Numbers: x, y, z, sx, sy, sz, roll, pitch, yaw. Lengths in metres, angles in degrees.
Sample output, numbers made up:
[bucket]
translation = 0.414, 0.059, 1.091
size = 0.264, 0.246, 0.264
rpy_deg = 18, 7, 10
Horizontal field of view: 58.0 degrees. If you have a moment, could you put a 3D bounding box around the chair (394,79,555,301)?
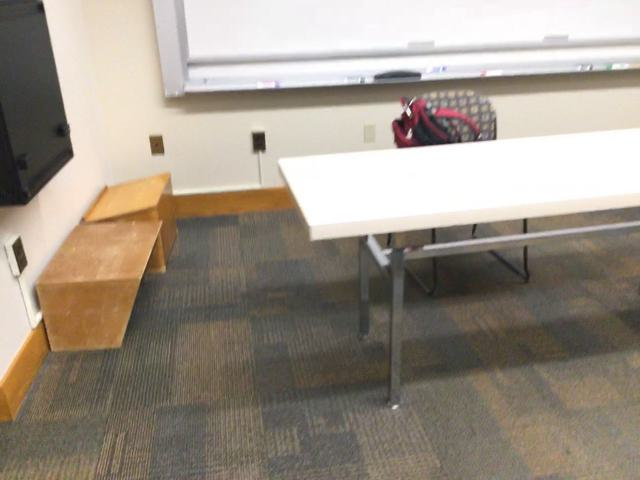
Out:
[chair]
translation = 0.610, -0.230, 2.490
size = 0.470, 0.770, 0.550
rpy_deg = -5, 27, -3

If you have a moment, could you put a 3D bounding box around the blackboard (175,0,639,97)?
[blackboard]
translation = 0.800, -1.440, 2.800
size = 3.000, 1.230, 0.200
rpy_deg = -5, 25, -3
